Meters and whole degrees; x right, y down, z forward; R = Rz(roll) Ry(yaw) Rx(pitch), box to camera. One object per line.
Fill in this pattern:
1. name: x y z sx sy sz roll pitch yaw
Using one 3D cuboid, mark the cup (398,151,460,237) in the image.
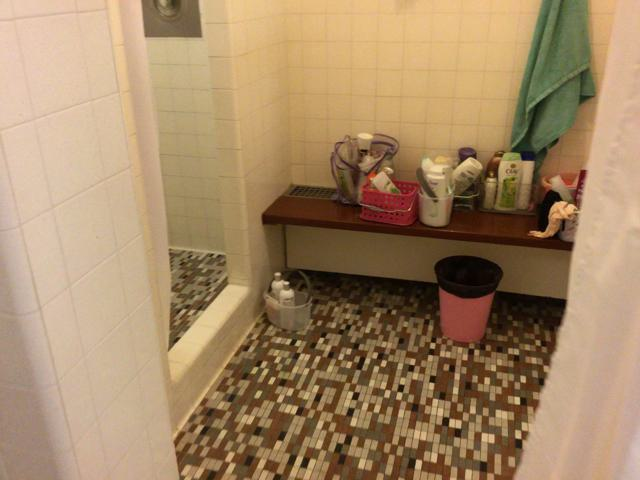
1. cup: 0.430 -0.190 2.250 0.190 0.210 0.380 6 24 14
